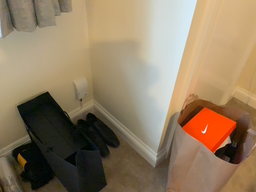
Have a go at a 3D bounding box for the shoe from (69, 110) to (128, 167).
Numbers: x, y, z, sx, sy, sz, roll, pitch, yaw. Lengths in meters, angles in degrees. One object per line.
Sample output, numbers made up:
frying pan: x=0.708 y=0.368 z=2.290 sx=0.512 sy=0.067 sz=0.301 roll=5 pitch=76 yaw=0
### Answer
shoe: x=-0.190 y=0.250 z=1.330 sx=0.210 sy=0.060 sz=0.330 roll=-29 pitch=52 yaw=-31

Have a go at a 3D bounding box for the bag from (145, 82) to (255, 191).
bag: x=0.410 y=0.270 z=1.070 sx=0.550 sy=0.420 sz=0.300 roll=-28 pitch=51 yaw=-31

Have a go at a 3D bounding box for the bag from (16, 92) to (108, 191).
bag: x=-0.340 y=0.270 z=1.120 sx=0.220 sy=0.320 sz=0.490 roll=-28 pitch=51 yaw=-31
